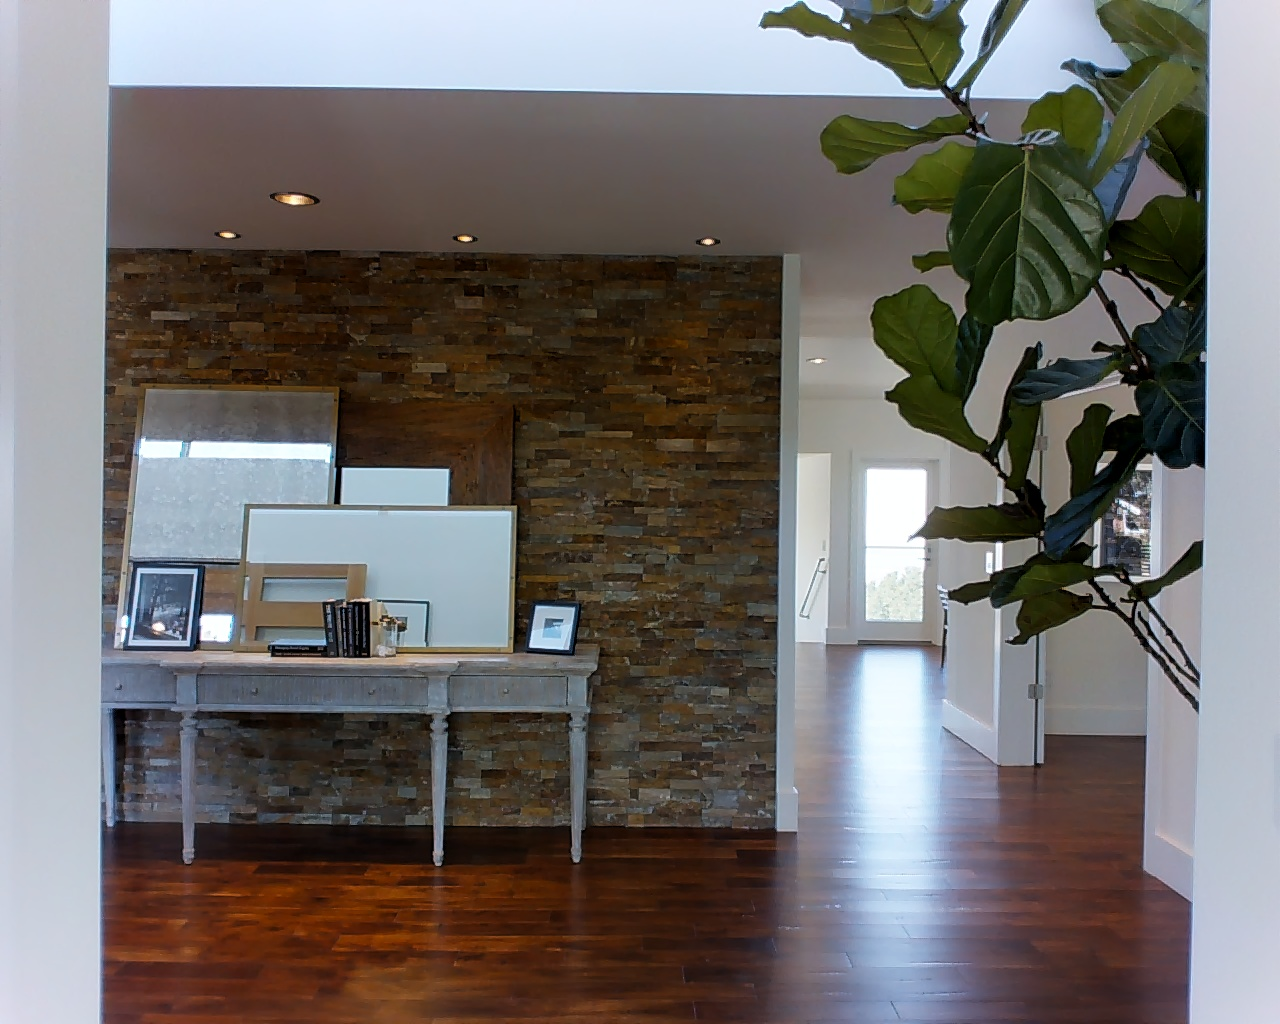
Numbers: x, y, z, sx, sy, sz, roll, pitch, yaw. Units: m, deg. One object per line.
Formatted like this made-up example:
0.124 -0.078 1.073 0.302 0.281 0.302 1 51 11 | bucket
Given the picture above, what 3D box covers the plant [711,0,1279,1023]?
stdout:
1.110 -0.030 2.350 1.750 2.940 1.320 1 0 -1 | plant
